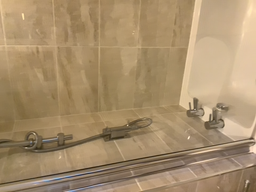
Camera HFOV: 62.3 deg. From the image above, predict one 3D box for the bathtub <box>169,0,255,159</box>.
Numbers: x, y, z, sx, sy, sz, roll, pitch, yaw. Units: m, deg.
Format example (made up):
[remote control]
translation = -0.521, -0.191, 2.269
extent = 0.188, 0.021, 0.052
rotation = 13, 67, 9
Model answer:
[bathtub]
translation = 0.760, -0.510, 1.200
extent = 0.710, 0.550, 1.460
rotation = -135, 46, -60
